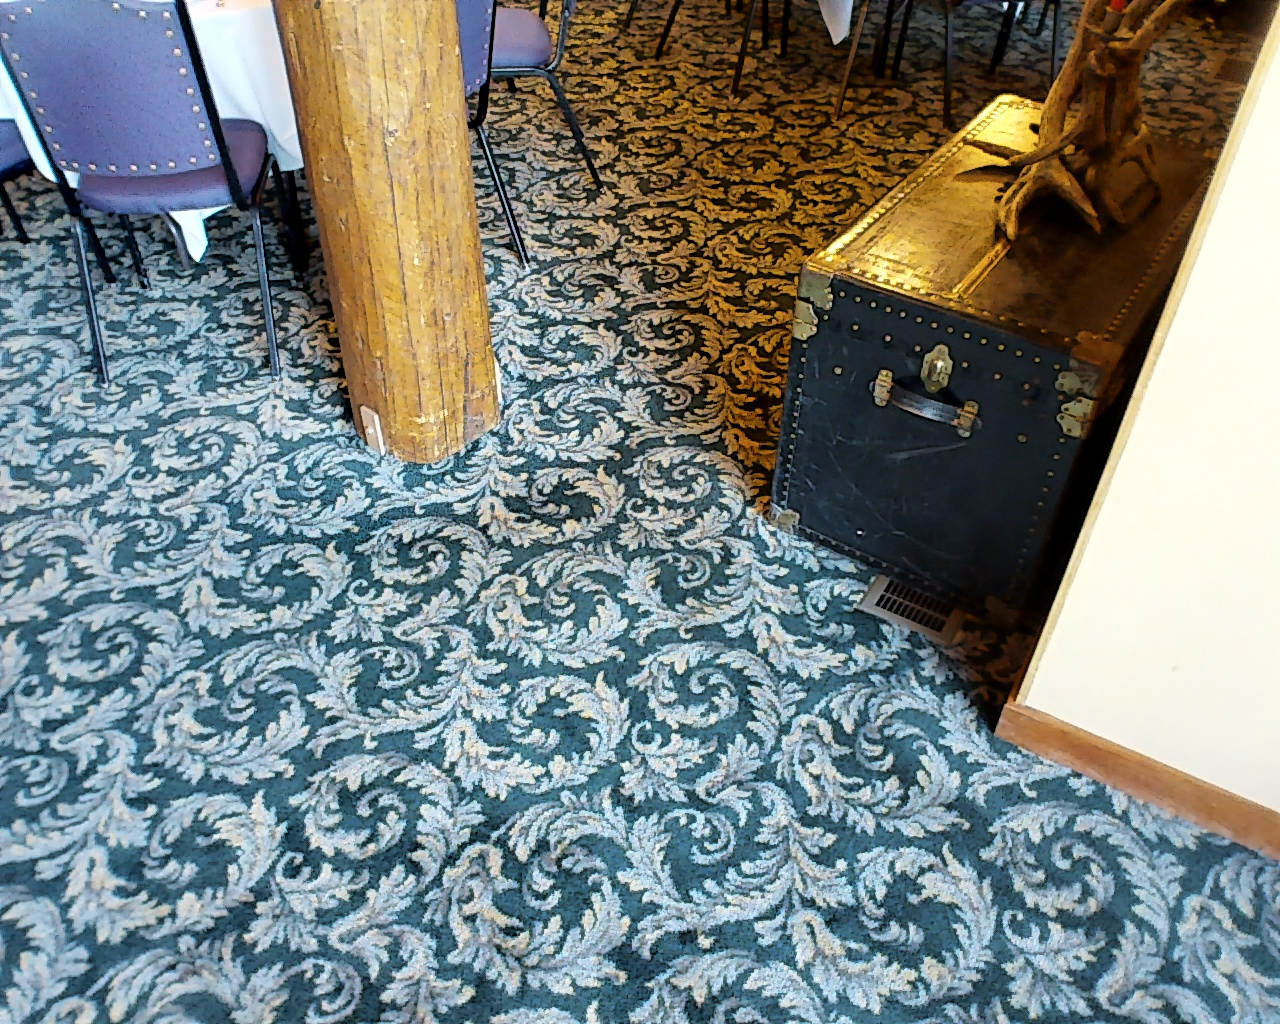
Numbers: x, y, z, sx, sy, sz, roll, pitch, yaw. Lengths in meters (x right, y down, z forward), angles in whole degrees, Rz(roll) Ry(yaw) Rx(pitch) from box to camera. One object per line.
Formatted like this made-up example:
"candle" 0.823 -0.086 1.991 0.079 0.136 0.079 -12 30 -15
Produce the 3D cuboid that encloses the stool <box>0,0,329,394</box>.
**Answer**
"stool" -1.150 -0.800 2.610 0.600 0.800 0.570 -5 42 -7
